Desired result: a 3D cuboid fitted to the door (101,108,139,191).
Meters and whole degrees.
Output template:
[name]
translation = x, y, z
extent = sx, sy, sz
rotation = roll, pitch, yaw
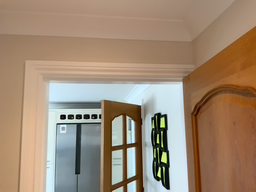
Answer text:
[door]
translation = -0.050, 1.120, 2.100
extent = 0.040, 1.950, 0.750
rotation = -4, -9, 25
